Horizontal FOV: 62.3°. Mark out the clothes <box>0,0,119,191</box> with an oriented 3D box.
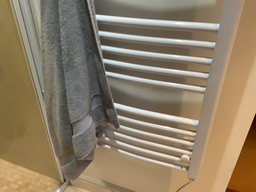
[{"bbox_3d":[-0.200,-0.010,0.700,0.250,1.060,0.250,12,34,17],"label":"clothes"}]
